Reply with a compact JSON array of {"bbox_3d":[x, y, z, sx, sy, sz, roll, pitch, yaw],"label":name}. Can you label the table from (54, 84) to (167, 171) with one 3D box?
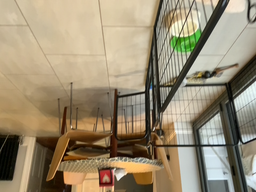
[{"bbox_3d":[-0.150,0.420,2.420,0.970,0.710,1.000,-1,155,0],"label":"table"}]
